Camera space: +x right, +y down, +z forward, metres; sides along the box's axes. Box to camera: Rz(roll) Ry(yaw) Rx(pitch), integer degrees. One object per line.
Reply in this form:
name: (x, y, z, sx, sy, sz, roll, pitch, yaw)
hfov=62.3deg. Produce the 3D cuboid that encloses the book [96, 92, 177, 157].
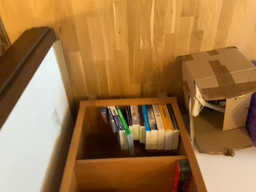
book: (0.040, 0.170, 1.300, 0.420, 0.290, 0.250, -1, 127, -2)
